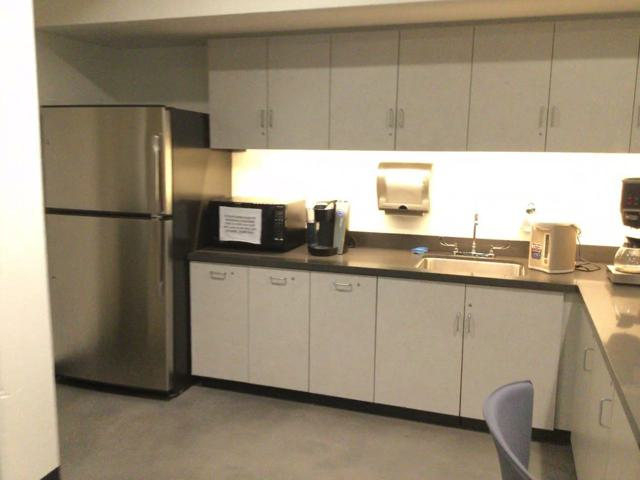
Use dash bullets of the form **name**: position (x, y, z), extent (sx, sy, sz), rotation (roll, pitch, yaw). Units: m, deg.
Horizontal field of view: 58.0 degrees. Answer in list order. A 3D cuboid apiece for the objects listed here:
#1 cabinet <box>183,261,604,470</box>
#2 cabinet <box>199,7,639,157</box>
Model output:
- **cabinet**: position (0.250, 0.590, 3.000), extent (2.140, 0.780, 0.110), rotation (4, 10, 19)
- **cabinet**: position (0.590, -0.760, 2.890), extent (2.640, 0.640, 0.150), rotation (4, 10, 19)
